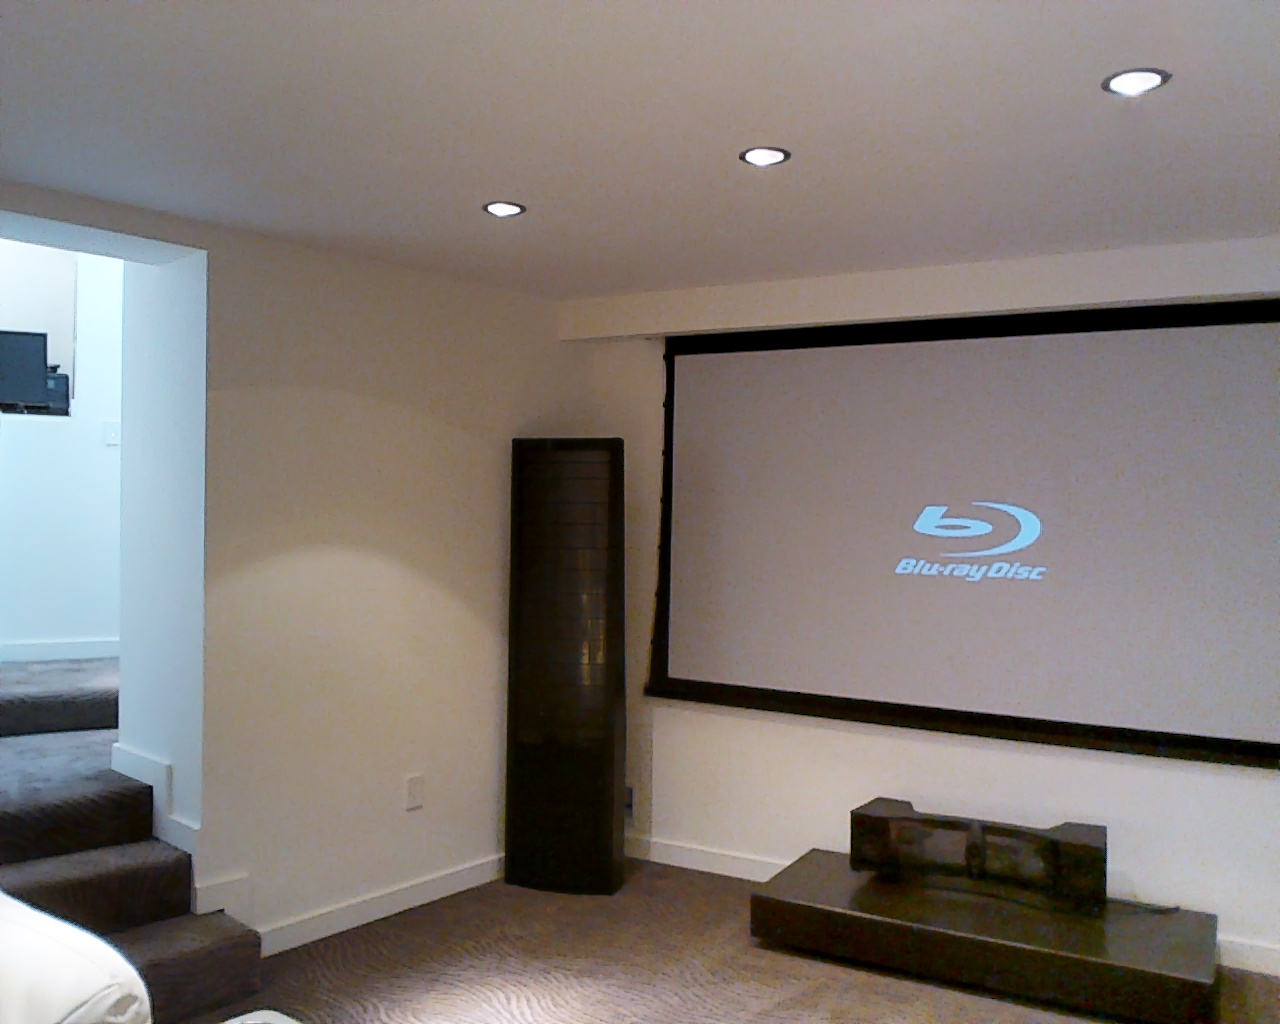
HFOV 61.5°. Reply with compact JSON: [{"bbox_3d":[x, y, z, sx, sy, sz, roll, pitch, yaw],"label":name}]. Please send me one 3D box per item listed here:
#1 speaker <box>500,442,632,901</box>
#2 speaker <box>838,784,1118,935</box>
[{"bbox_3d":[-0.300,0.620,4.360,0.490,1.790,0.170,1,0,22],"label":"speaker"},{"bbox_3d":[1.200,1.210,3.830,0.890,0.280,0.410,1,0,28],"label":"speaker"}]
